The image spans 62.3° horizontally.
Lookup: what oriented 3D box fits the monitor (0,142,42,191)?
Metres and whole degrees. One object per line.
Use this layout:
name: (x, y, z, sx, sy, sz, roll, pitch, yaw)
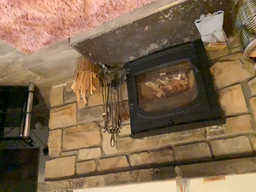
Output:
monitor: (-1.230, 0.670, 1.750, 0.920, 0.540, 0.060, 1, 157, -14)
